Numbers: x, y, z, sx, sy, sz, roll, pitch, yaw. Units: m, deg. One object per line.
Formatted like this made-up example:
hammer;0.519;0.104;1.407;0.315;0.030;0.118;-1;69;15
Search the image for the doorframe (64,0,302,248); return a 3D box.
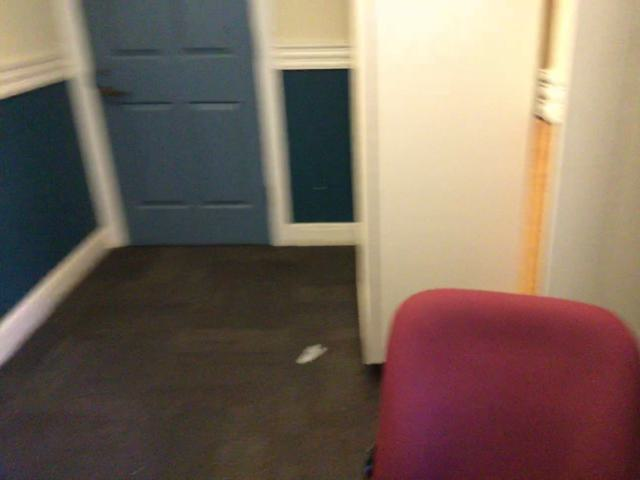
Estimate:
doorframe;-0.690;-0.830;3.050;1.120;1.840;0.130;0;23;3
